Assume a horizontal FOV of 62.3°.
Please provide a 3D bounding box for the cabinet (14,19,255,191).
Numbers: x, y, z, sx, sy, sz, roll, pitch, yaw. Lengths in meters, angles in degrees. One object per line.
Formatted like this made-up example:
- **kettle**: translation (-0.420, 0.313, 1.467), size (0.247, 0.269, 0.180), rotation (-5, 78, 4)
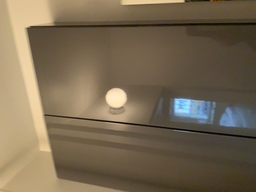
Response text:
- **cabinet**: translation (0.140, 0.060, 0.700), size (0.170, 0.930, 0.580), rotation (-55, -33, -63)
